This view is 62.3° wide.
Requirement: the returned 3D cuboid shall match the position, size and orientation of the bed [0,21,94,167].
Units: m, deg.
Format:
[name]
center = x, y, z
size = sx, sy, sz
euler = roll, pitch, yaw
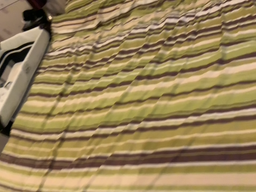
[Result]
[bed]
center = -0.930, 0.030, 1.980
size = 0.740, 0.740, 1.030
euler = -9, 53, 25
